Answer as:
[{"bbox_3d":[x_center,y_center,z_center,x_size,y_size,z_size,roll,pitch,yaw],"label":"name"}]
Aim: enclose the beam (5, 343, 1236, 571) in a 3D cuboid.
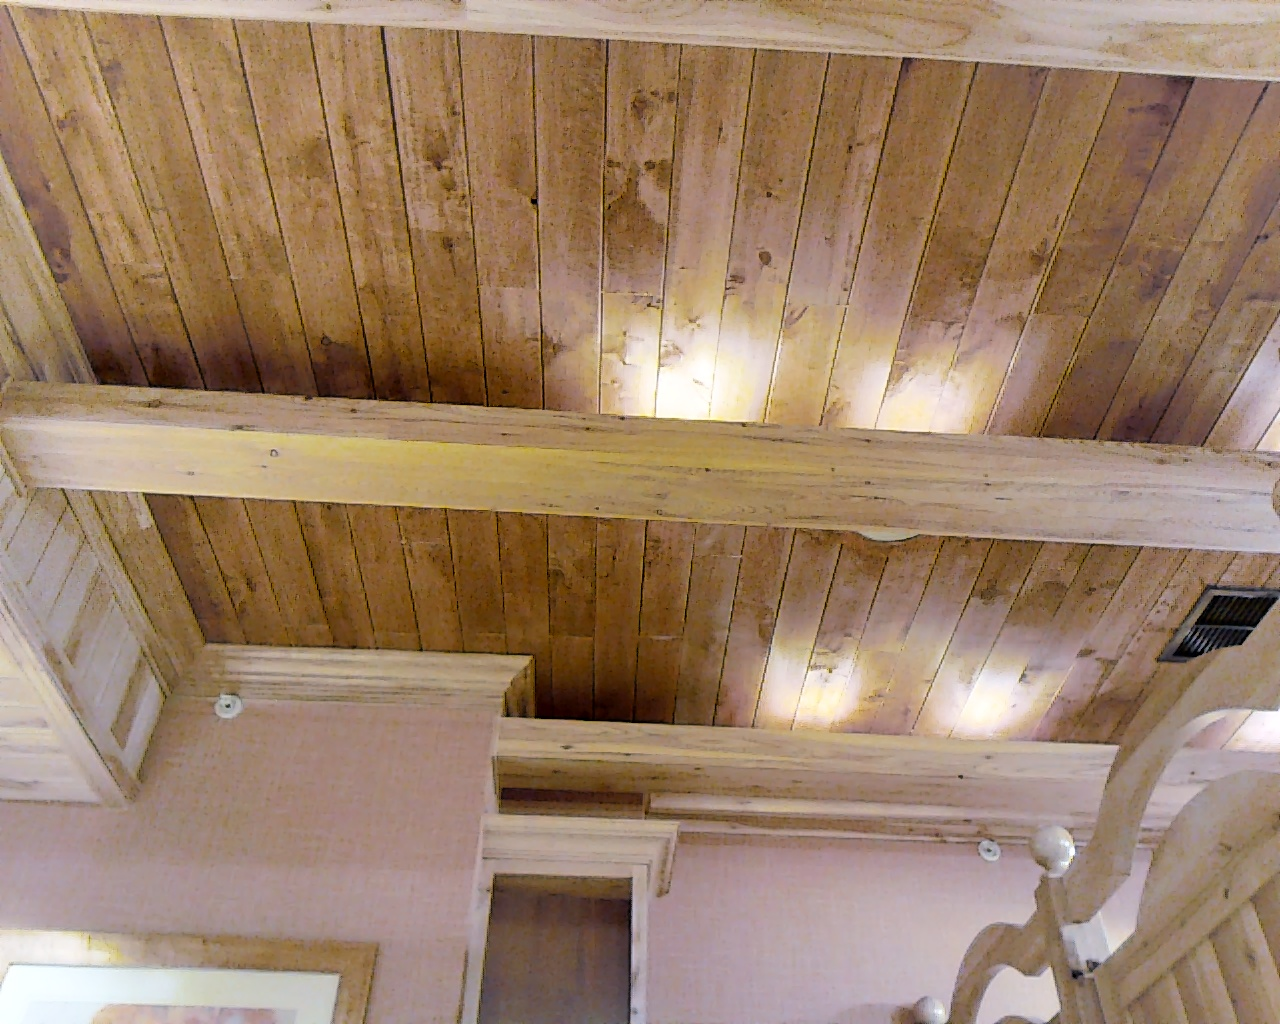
[{"bbox_3d":[-0.030,-0.120,2.390,2.509,0.300,0.290,2,-43,-1],"label":"beam"}]
